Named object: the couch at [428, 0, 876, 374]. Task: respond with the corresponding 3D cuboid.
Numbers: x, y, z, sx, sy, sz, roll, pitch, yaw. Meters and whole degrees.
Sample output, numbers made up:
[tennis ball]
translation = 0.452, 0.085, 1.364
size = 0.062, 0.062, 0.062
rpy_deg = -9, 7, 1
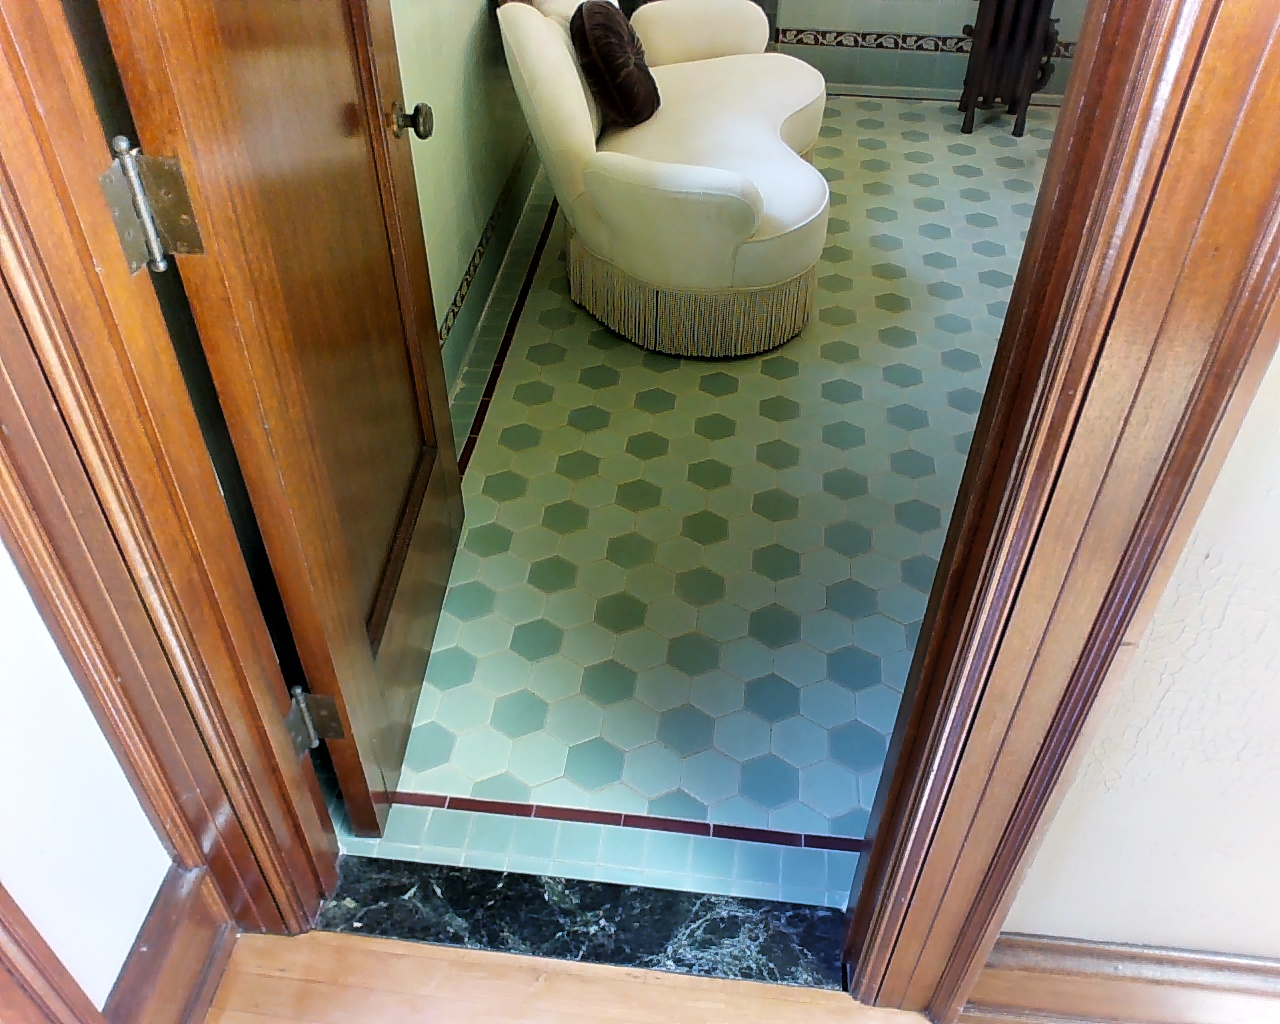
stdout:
[couch]
translation = 0.090, -1.150, 3.000
size = 0.930, 0.840, 1.350
rpy_deg = 5, 42, 5
